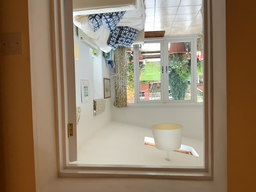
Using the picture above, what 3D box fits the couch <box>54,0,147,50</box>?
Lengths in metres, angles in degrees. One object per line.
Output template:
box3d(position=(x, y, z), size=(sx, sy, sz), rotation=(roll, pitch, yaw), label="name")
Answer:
box3d(position=(-0.270, -1.340, 3.570), size=(1.090, 0.750, 1.960), rotation=(-1, -178, 7), label="couch")
